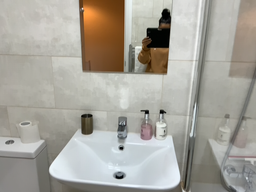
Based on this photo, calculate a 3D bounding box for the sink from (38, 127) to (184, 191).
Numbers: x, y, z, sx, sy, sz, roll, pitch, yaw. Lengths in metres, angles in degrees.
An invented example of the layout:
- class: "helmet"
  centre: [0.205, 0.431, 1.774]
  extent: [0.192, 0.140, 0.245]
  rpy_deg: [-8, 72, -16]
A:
- class: "sink"
  centre: [-0.050, 0.350, 1.040]
  extent: [0.560, 0.180, 0.450]
  rpy_deg: [3, 17, 6]
